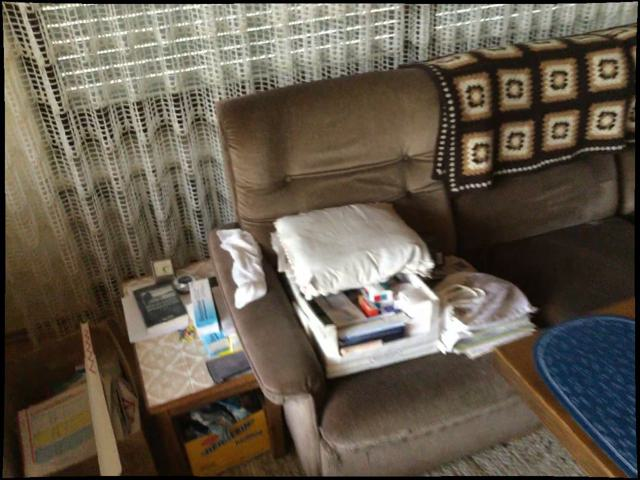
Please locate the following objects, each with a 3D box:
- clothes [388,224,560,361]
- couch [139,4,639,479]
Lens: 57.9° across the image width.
[{"bbox_3d":[0.410,0.130,1.590,0.330,0.140,0.300,-16,37,-20],"label":"clothes"},{"bbox_3d":[0.799,-0.080,1.830,2.338,0.891,1.080,-16,37,-20],"label":"couch"}]
